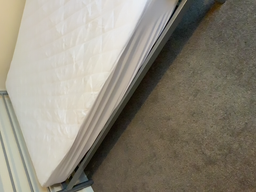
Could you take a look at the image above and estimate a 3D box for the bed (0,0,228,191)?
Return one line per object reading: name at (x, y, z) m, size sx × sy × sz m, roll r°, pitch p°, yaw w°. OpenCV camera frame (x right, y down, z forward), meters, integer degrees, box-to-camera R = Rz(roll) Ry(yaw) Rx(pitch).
bed at (-0.490, -0.330, 1.890) m, size 1.500 × 0.560 × 2.090 m, roll 52°, pitch 126°, yaw 30°
